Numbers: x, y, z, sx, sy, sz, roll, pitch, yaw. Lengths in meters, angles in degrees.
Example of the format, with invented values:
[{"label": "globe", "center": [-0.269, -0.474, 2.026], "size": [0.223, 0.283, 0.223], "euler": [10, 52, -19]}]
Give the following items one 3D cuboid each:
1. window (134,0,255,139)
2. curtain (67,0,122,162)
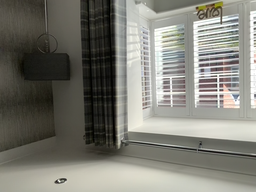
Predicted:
[{"label": "window", "center": [0.940, -0.730, 2.430], "size": [1.800, 2.330, 0.270], "euler": [0, -175, 31]}, {"label": "curtain", "center": [-0.310, -0.170, 2.040], "size": [0.370, 1.510, 0.250], "euler": [0, -175, 29]}]
